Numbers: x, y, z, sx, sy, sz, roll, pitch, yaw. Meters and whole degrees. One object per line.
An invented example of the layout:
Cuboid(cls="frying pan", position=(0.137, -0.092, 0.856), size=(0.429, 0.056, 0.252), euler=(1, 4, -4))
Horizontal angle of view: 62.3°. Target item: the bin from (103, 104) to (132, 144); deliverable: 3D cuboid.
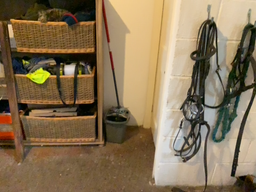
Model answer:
Cuboid(cls="bin", position=(-0.120, 0.290, 2.260), size=(0.280, 0.290, 0.330), euler=(0, 24, -7))
